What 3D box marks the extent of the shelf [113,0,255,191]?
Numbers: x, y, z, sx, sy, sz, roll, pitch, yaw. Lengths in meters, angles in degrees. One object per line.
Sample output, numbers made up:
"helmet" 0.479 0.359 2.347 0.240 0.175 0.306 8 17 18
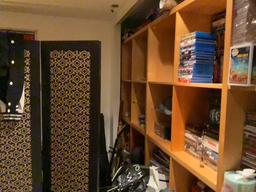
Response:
"shelf" 0.410 0.410 1.690 0.520 2.080 2.440 0 5 -17
